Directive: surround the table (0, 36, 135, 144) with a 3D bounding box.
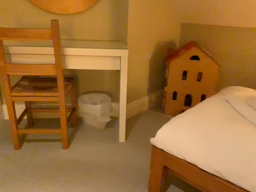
[{"bbox_3d":[-0.640,-0.070,1.800,1.290,0.760,0.530,0,21,-6],"label":"table"}]
